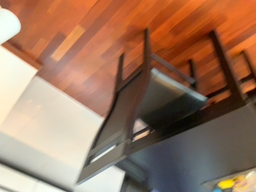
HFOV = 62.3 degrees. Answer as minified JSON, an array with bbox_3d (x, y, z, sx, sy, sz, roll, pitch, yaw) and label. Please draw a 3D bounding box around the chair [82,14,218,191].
[{"bbox_3d":[0.150,0.000,1.320,0.520,0.970,0.370,37,127,-25],"label":"chair"}]
